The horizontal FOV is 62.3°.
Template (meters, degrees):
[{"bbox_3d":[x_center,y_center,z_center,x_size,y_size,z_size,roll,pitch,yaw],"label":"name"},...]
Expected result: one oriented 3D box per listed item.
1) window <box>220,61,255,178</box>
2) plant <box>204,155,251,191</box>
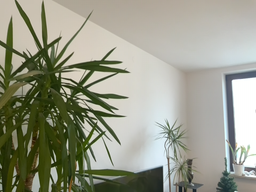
[{"bbox_3d":[2.370,0.320,3.150,1.810,1.830,0.150,-6,-10,39],"label":"window"},{"bbox_3d":[1.470,1.510,3.110,0.530,1.170,0.470,-5,-10,37],"label":"plant"}]
